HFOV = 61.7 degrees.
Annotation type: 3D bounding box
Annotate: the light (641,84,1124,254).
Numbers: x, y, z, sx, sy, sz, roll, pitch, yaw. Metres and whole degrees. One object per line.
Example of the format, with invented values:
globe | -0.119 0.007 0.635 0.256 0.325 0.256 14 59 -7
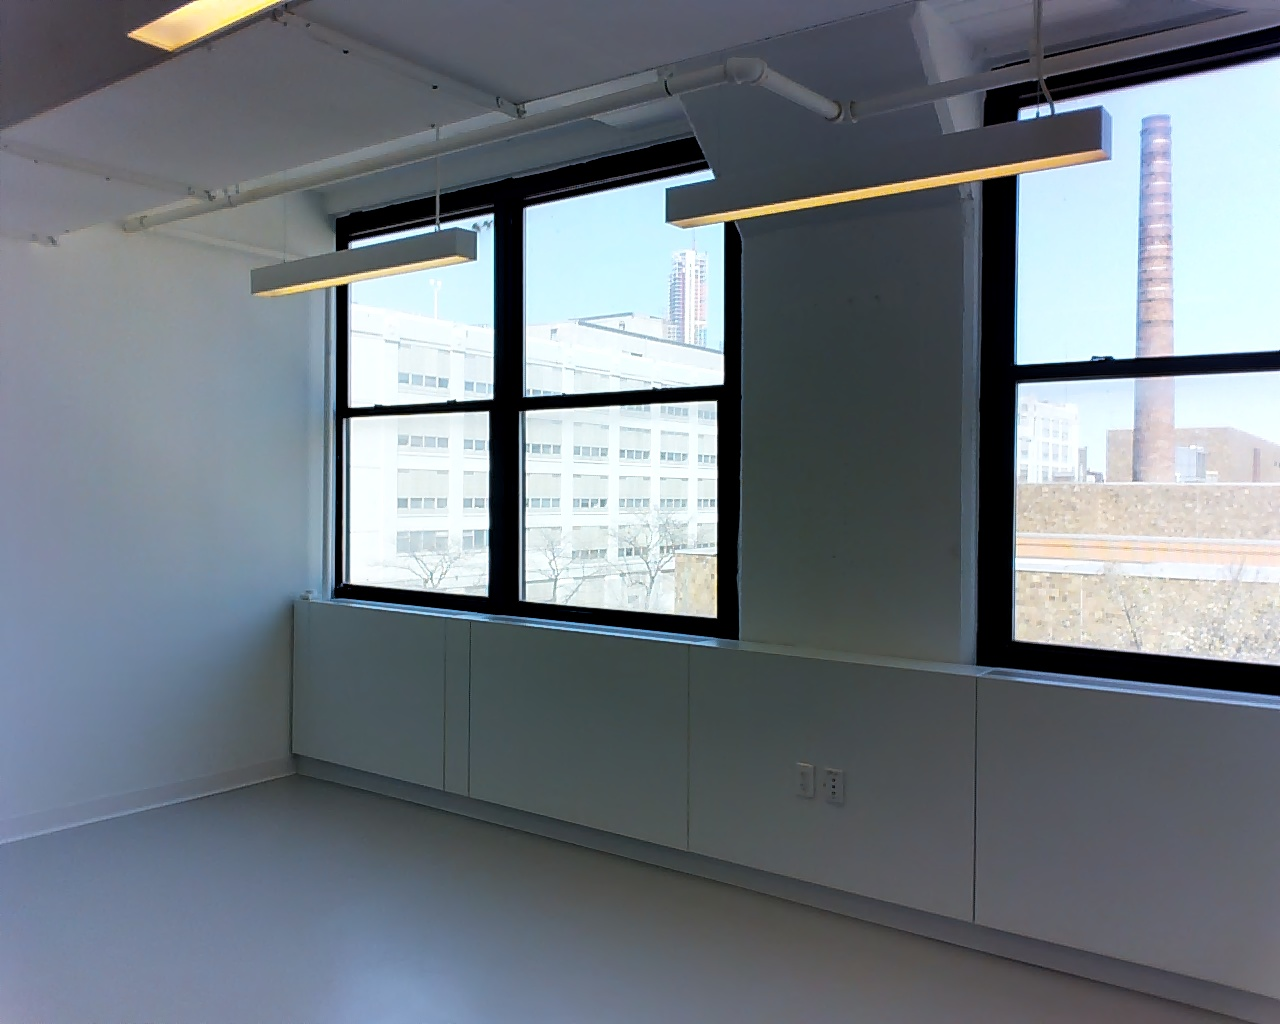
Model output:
light | 0.570 -0.870 2.830 1.280 0.170 0.180 1 0 37
